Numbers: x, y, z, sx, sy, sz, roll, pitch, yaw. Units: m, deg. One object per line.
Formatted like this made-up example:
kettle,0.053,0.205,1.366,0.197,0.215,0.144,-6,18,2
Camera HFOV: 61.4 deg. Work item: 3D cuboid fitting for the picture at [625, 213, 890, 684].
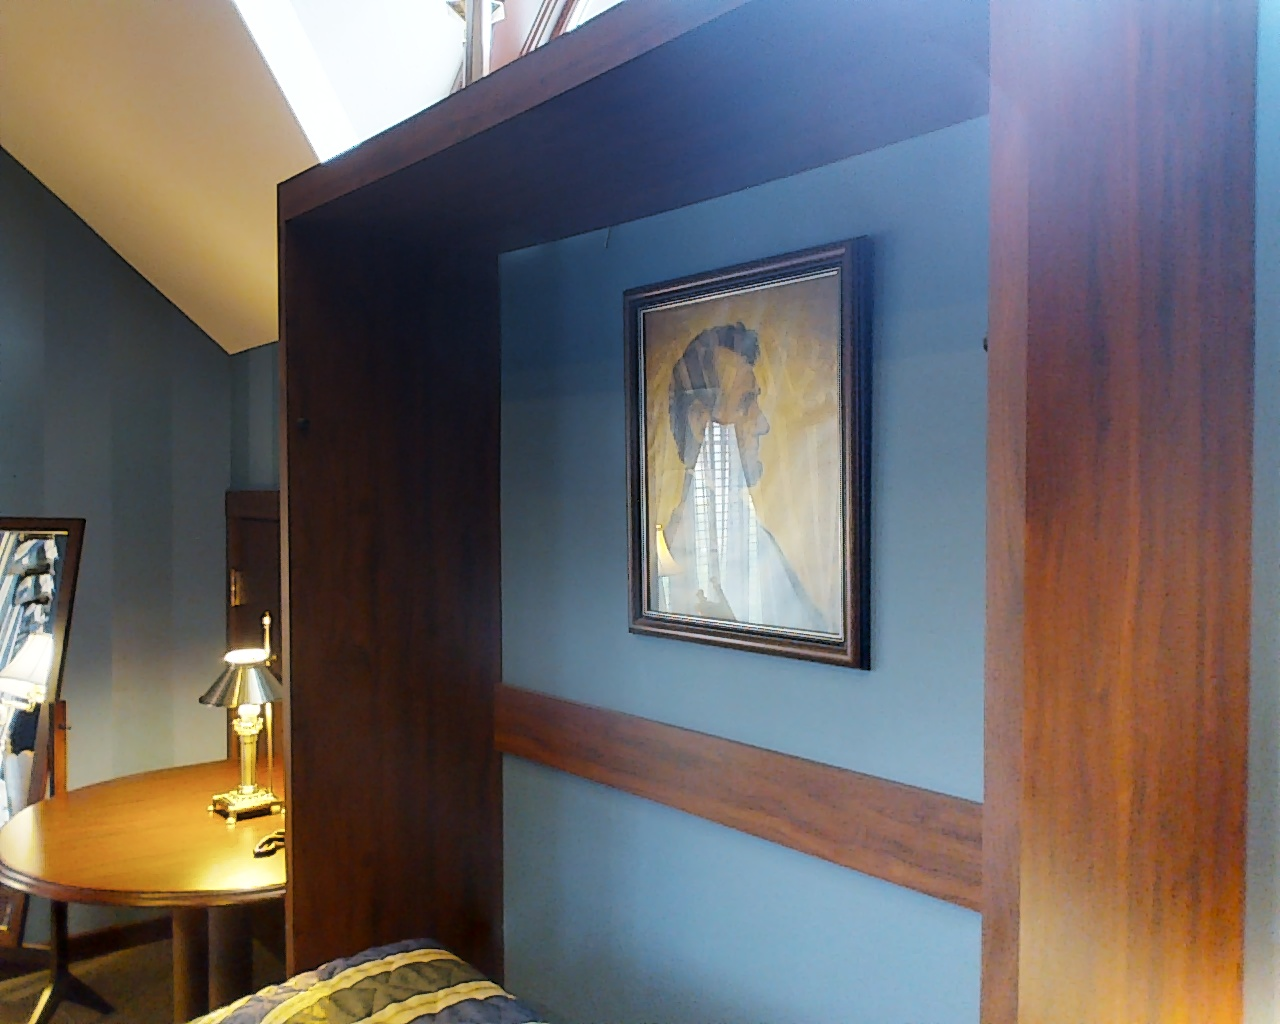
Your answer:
picture,0.180,-0.100,1.890,0.040,0.720,0.600,-1,2,-40
